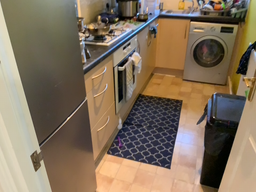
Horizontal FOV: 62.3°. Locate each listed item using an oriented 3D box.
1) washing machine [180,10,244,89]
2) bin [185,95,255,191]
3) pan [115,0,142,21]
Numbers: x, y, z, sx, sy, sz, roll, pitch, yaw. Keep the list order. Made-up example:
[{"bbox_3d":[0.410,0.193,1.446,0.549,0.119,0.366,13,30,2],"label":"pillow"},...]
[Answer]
[{"bbox_3d":[1.190,-0.710,3.130,0.650,0.930,0.650,10,31,17],"label":"washing machine"},{"bbox_3d":[0.650,0.370,1.580,0.330,0.620,0.360,9,31,17],"label":"bin"},{"bbox_3d":[0.010,-1.100,2.600,0.250,0.280,0.260,9,31,16],"label":"pan"}]
